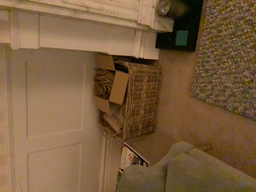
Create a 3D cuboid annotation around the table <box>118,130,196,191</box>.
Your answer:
[{"bbox_3d":[0.220,0.450,1.590,0.270,0.520,0.220,21,111,51],"label":"table"}]

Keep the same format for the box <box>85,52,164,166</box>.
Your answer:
[{"bbox_3d":[-0.060,0.060,1.800,0.480,0.420,0.810,20,111,51],"label":"box"}]
